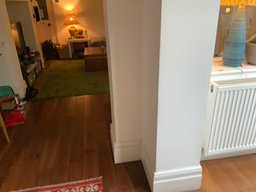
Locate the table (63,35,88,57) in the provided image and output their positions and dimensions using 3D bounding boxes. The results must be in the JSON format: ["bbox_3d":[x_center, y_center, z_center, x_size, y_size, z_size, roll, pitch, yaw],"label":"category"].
[{"bbox_3d":[-1.410,-1.390,5.820,0.590,0.460,0.610,-5,24,-9],"label":"table"}]
